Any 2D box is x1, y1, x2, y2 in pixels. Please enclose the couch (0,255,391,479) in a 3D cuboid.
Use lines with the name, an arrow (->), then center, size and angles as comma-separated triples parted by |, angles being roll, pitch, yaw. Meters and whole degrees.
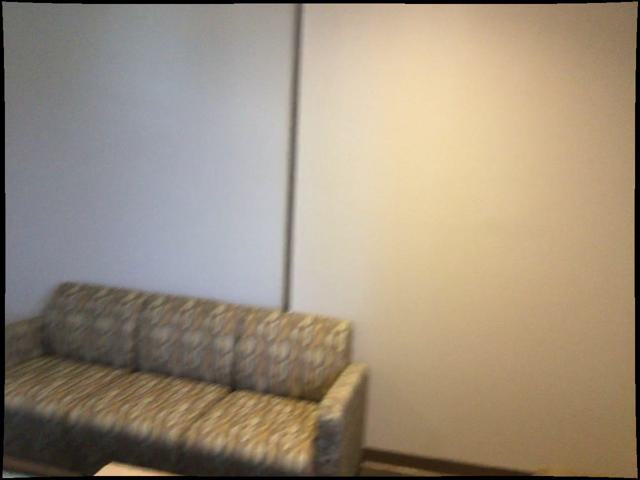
couch -> -0.699, 0.671, 2.720 | 1.948, 0.831, 0.950 | 6, 11, 8
